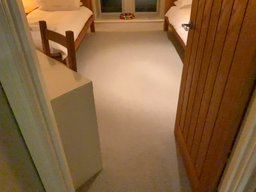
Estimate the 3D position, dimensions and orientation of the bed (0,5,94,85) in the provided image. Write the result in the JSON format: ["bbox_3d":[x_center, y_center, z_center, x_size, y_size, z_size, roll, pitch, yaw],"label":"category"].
[{"bbox_3d":[-1.260,-0.940,3.360,1.110,0.530,2.090,-1,34,0],"label":"bed"}]

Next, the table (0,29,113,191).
[{"bbox_3d":[-0.740,0.070,1.610,1.210,0.780,0.520,28,44,35],"label":"table"}]
